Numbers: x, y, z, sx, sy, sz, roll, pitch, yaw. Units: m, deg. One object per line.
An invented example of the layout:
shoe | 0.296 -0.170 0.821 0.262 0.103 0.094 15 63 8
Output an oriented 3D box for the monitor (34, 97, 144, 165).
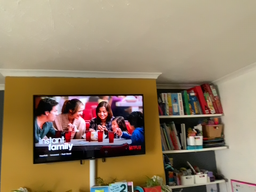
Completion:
monitor | -0.320 0.290 1.890 0.950 0.550 0.040 0 -2 -16
